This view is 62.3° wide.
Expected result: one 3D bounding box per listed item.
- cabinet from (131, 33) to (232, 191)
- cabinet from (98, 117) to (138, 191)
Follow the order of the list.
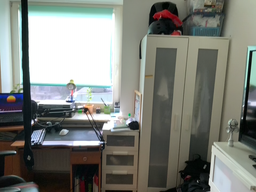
[{"bbox_3d":[0.520,0.270,2.440,0.840,1.800,0.620,2,8,-4],"label":"cabinet"},{"bbox_3d":[-0.130,0.710,2.550,0.410,0.820,0.430,2,8,-4],"label":"cabinet"}]
